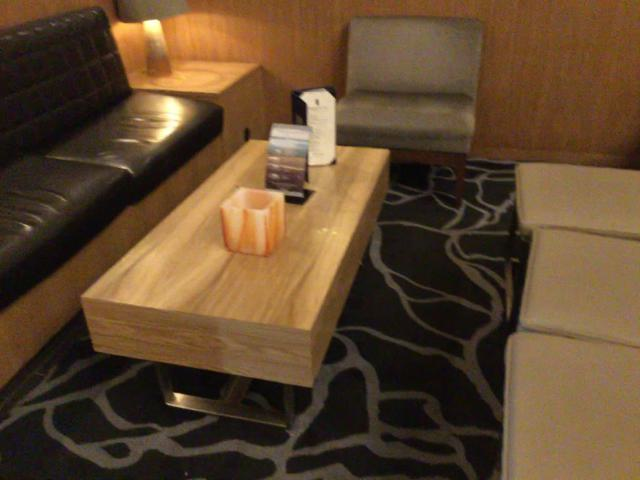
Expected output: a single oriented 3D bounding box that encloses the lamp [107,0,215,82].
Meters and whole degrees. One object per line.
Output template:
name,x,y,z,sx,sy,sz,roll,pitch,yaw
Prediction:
lamp,-0.860,-1.170,3.150,0.370,0.520,0.340,3,31,17
